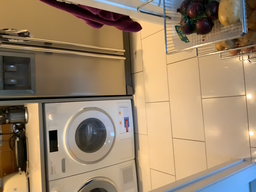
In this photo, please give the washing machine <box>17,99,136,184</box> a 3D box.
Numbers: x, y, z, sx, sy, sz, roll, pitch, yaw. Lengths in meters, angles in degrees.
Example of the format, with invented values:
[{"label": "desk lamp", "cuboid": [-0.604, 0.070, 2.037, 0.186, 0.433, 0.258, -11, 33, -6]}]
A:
[{"label": "washing machine", "cuboid": [-0.520, 0.360, 2.090, 0.720, 0.910, 0.580, -8, 85, 54]}]
